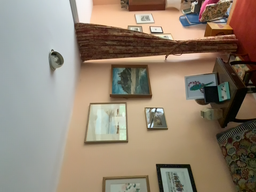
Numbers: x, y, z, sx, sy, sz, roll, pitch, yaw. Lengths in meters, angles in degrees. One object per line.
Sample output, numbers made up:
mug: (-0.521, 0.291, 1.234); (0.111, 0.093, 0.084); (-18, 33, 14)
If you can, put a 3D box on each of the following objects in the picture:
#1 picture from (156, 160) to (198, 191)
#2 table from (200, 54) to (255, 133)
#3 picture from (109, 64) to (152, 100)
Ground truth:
picture: (0.440, 0.800, 1.880); (0.460, 0.300, 0.060); (-96, 4, -47)
table: (1.300, -0.030, 2.320); (0.580, 0.720, 0.620); (-93, 2, -45)
picture: (0.020, -0.210, 2.920); (0.060, 0.540, 0.670); (92, 177, -46)
